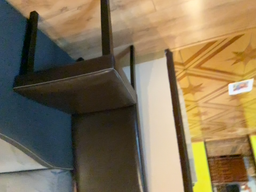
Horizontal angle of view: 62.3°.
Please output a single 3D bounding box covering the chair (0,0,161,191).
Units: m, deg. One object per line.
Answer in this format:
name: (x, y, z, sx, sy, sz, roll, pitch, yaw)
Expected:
chair: (-0.170, 0.070, 1.110, 0.470, 0.940, 0.640, -11, 156, 18)
